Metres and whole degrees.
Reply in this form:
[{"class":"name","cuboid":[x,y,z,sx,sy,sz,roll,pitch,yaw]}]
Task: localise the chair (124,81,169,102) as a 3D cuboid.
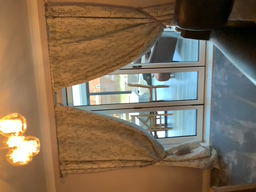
[{"class":"chair","cuboid":[0.410,-0.110,4.980,0.480,0.950,0.430,-167,75,-82]}]
